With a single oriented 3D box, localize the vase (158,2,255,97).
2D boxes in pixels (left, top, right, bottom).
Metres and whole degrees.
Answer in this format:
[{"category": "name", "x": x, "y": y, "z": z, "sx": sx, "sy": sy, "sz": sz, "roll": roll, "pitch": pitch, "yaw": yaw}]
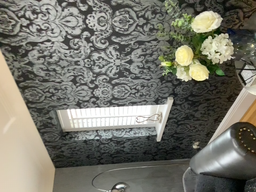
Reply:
[{"category": "vase", "x": 0.510, "y": -0.260, "z": 1.220, "sx": 0.320, "sy": 0.560, "sz": 0.410, "roll": -99, "pitch": 10, "yaw": -45}]
